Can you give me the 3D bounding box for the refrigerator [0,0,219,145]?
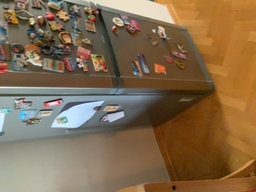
[{"bbox_3d":[-0.420,-0.150,1.300,0.700,1.910,0.630,-43,56,47],"label":"refrigerator"}]
